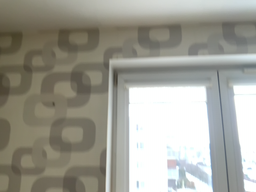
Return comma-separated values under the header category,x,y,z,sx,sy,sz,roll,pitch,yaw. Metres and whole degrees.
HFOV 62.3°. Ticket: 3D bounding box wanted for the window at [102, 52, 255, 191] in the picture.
category,x,y,z,sx,sy,sz,roll,pitch,yaw
window,0.580,0.840,1.220,1.470,2.270,0.130,-1,-13,4
